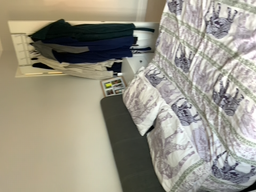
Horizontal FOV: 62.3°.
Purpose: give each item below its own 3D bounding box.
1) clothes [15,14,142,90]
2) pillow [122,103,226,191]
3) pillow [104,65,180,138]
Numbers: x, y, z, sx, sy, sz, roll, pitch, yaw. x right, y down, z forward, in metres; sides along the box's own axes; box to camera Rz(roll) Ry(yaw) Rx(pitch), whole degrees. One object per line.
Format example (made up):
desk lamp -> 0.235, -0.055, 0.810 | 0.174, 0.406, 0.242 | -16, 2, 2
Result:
clothes -> -0.580, -0.550, 2.720 | 0.340, 1.370, 0.820 | -113, 25, -49
pillow -> 0.370, 0.430, 1.630 | 0.670, 0.550, 0.250 | -45, -29, -45
pillow -> 0.180, 0.000, 2.180 | 0.810, 0.530, 0.250 | -53, -25, -53
